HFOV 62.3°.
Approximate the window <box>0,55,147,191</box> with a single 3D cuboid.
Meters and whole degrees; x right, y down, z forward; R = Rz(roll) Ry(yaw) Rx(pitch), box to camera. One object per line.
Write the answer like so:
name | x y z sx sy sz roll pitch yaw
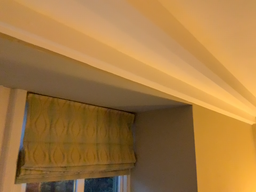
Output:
window | -0.610 0.670 0.860 0.130 1.720 2.090 -11 -18 41
